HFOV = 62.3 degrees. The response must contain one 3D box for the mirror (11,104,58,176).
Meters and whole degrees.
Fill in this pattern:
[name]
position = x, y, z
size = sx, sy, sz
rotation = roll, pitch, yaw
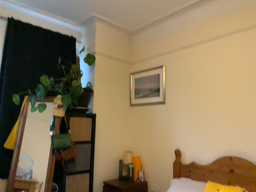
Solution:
[mirror]
position = -1.080, 0.510, 2.460
size = 0.420, 0.800, 0.080
rotation = -6, 2, 5
